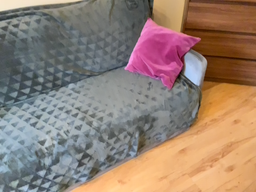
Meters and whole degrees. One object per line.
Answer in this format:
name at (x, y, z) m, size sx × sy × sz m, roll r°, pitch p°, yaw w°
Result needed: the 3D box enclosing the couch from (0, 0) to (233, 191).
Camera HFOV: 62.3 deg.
couch at (-0.640, 0.030, 1.300) m, size 2.150 × 0.900 × 0.980 m, roll -21°, pitch 44°, yaw -21°
